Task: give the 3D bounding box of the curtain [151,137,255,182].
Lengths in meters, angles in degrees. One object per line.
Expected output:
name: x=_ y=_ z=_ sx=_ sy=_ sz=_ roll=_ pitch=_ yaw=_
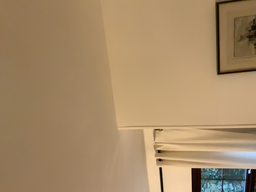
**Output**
curtain: x=1.470 y=0.670 z=2.230 sx=0.140 sy=2.410 sz=0.450 roll=-60 pitch=-35 yaw=-71
